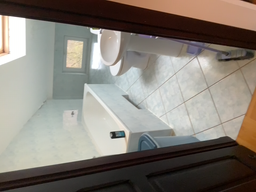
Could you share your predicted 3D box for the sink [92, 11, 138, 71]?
[{"bbox_3d":[-0.150,-0.530,1.970,0.560,0.170,0.450,39,125,56],"label":"sink"}]
